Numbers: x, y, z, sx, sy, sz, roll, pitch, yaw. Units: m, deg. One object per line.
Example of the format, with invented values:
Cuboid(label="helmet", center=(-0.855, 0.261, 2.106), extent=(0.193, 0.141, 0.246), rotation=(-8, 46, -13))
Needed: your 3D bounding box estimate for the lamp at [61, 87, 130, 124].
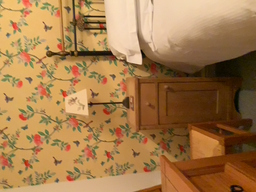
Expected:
Cuboid(label="lamp", center=(-0.240, 0.060, 1.590), extent=(0.210, 0.470, 0.230), rotation=(-153, 61, -78))
